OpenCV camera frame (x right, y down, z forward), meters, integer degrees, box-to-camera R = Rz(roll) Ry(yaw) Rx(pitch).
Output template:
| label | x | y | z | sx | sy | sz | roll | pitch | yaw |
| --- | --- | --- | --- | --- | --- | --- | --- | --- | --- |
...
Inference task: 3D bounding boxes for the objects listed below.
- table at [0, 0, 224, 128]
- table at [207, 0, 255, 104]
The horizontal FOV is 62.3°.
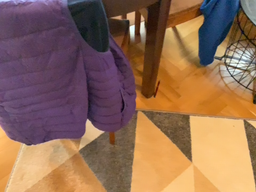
| label | x | y | z | sx | sy | sz | roll | pitch | yaw |
| --- | --- | --- | --- | --- | --- | --- | --- | --- | --- |
| table | -0.180 | -0.480 | 1.160 | 0.990 | 0.780 | 0.960 | 6 | 59 | 4 |
| table | 0.830 | -0.340 | 1.240 | 0.550 | 0.480 | 0.630 | 6 | 59 | 5 |
